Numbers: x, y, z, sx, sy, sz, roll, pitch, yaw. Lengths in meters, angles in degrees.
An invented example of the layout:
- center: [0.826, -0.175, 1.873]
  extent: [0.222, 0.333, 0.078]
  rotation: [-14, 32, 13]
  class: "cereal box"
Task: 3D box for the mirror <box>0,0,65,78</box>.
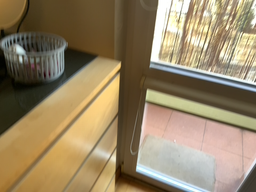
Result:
- center: [-0.470, -0.350, 0.800]
  extent: [0.250, 0.400, 0.350]
  rotation: [17, 38, 16]
  class: "mirror"
